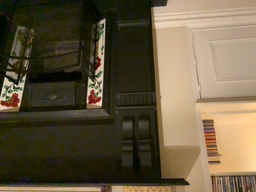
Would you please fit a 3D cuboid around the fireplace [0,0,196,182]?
[{"bbox_3d":[-0.510,-0.110,1.470,1.650,1.310,0.600,-3,157,6],"label":"fireplace"}]
